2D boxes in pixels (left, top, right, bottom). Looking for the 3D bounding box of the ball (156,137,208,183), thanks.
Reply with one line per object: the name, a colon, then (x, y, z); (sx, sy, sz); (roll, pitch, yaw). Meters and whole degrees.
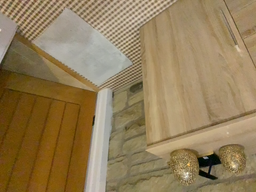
ball: (0.230, 0.280, 0.910); (0.130, 0.130, 0.170); (-27, 136, 33)
